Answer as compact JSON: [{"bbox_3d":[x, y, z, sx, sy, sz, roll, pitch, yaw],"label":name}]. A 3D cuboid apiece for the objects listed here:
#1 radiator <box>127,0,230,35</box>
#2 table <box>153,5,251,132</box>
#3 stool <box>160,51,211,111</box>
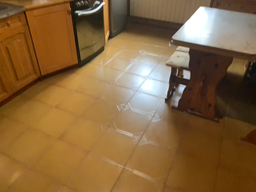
[{"bbox_3d":[0.810,-1.570,3.730,1.720,0.630,0.180,16,40,18],"label":"radiator"},{"bbox_3d":[0.760,-0.350,2.160,0.620,0.790,1.040,16,40,18],"label":"table"},{"bbox_3d":[0.580,-0.160,2.180,0.380,0.450,0.310,16,39,18],"label":"stool"}]
